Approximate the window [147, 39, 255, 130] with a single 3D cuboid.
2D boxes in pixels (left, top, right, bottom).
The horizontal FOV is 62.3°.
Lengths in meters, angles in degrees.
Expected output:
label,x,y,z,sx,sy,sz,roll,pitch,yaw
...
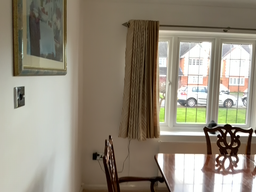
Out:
label,x,y,z,sx,sy,sz,roll,pitch,yaw
window,1.310,-0.140,2.990,2.040,1.210,0.110,1,5,-2
